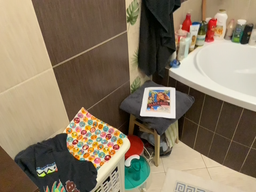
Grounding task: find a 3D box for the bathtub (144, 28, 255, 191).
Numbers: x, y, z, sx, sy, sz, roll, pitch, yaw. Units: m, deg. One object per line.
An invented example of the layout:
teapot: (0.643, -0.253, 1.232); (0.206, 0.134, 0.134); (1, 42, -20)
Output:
bathtub: (1.050, 0.150, 1.470); (1.710, 0.660, 0.850); (26, 46, 32)
